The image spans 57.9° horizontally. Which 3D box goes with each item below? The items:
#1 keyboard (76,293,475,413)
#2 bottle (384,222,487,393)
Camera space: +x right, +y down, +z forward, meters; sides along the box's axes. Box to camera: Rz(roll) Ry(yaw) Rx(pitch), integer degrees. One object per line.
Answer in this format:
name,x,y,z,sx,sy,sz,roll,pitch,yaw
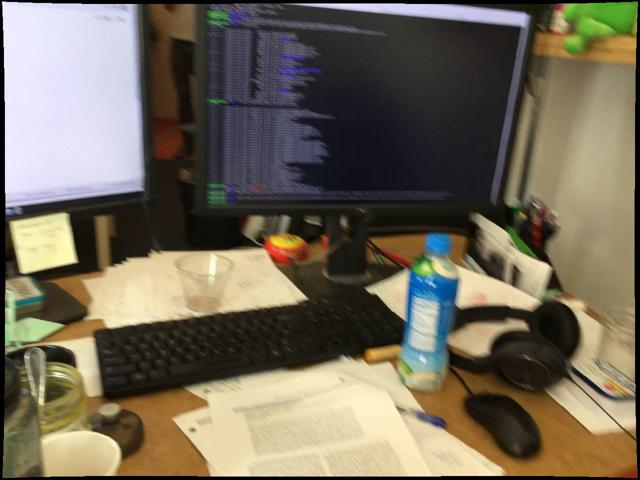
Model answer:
keyboard,-0.060,0.150,0.840,0.510,0.050,0.210,0,22,-11
bottle,0.150,0.090,0.780,0.080,0.210,0.090,0,22,-11
